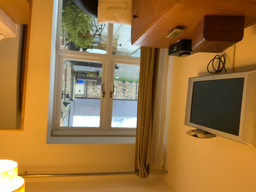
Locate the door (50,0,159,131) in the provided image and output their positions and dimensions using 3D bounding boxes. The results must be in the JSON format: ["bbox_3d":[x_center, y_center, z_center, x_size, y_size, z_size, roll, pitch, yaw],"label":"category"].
[{"bbox_3d":[-0.260,-0.540,2.700,1.290,1.940,0.120,3,-179,-15],"label":"door"}]

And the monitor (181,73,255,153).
[{"bbox_3d":[0.530,0.060,1.310,0.060,0.370,0.670,3,-177,-14],"label":"monitor"}]

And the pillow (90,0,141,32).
[{"bbox_3d":[-0.120,-0.890,2.070,0.440,0.390,0.110,19,-152,6],"label":"pillow"}]
